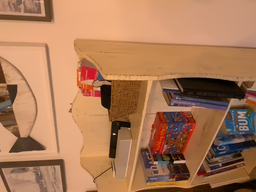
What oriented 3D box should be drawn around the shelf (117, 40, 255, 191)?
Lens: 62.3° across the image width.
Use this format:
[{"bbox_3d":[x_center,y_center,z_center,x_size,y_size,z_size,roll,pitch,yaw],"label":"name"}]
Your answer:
[{"bbox_3d":[0.560,0.170,1.160,0.280,1.140,0.820,-104,18,-51],"label":"shelf"}]
